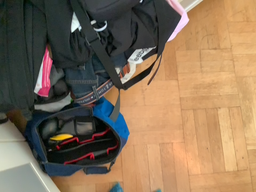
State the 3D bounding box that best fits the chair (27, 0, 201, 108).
[{"bbox_3d":[-0.130,-0.310,0.810,0.310,0.810,0.540,-38,85,-11],"label":"chair"}]
